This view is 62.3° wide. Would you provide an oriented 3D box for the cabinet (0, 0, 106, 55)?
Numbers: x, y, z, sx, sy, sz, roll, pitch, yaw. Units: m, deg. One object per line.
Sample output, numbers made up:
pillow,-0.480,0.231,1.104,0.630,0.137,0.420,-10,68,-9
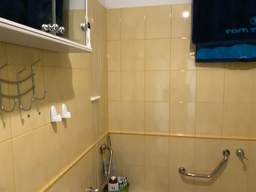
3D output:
cabinet,-0.280,-0.410,0.780,0.170,0.440,0.790,1,6,11
